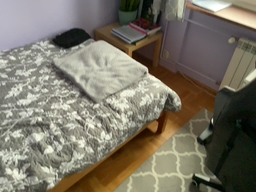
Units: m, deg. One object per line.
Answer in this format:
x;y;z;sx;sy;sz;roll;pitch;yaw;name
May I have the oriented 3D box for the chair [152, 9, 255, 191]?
0.700;0.310;1.050;0.710;1.220;0.730;-20;47;-25;chair
